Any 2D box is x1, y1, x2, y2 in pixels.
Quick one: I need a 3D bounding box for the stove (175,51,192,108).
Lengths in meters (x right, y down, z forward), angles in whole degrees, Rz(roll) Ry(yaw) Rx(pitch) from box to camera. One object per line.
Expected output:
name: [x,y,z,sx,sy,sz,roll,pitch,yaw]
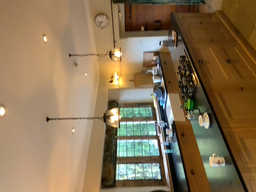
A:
stove: [0.770,-0.250,3.000,0.720,0.010,0.450,-91,1,-46]
